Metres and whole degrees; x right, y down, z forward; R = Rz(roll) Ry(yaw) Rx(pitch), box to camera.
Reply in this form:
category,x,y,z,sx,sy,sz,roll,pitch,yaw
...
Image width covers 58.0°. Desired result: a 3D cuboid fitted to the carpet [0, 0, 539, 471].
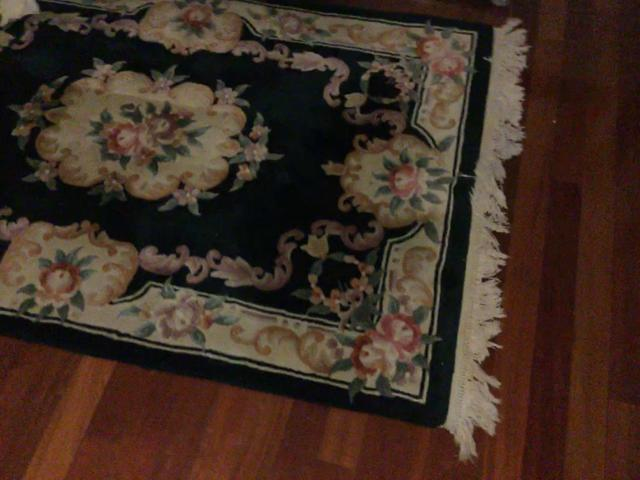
category,x,y,z,sx,sy,sz,roll,pitch,yaw
carpet,-0.490,-0.310,1.540,2.000,0.070,1.240,14,62,7
